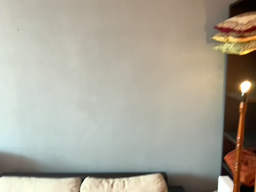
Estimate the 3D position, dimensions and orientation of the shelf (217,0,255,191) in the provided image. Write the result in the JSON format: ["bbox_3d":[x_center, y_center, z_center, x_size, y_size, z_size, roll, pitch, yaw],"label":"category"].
[{"bbox_3d":[0.890,0.340,1.560,0.290,2.030,0.330,-1,9,2],"label":"shelf"}]
